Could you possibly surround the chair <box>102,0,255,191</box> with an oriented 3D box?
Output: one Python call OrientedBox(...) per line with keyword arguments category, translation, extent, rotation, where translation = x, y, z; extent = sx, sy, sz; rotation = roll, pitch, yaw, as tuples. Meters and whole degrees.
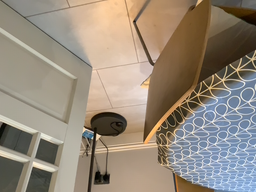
OrientedBox(category="chair", translation=(0.250, -0.150, 0.900), extent=(0.530, 0.870, 0.420), rotation=(23, 134, -25))
